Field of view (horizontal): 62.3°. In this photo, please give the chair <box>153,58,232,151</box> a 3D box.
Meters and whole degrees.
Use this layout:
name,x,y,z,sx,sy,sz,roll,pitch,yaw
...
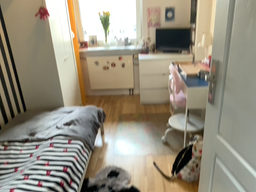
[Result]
name,x,y,z,sx,sy,sz,roll,pitch,yaw
chair,0.640,0.070,2.380,0.650,0.840,0.610,-3,23,1

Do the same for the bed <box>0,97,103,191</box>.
name,x,y,z,sx,sy,sz,roll,pitch,yaw
bed,-0.890,0.640,1.750,1.020,0.430,2.110,-2,23,3

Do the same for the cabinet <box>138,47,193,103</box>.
name,x,y,z,sx,sy,sz,roll,pitch,yaw
cabinet,0.580,-0.350,3.490,0.800,0.780,0.500,-2,23,3
